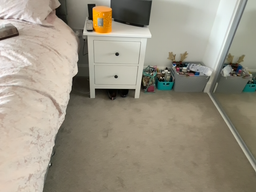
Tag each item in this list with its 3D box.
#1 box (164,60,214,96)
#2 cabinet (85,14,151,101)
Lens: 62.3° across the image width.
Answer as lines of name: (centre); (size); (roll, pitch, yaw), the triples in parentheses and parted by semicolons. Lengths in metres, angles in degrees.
box: (0.620, -0.190, 2.240); (0.410, 0.220, 0.310); (4, 37, -3)
cabinet: (-0.110, -0.350, 1.990); (0.510, 0.660, 0.420); (3, 37, -4)
